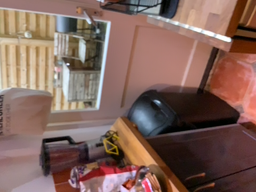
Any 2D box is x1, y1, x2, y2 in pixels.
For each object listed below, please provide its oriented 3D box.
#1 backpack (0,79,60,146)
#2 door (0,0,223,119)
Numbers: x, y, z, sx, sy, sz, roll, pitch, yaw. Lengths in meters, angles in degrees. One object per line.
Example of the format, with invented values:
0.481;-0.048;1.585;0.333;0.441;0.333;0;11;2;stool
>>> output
-0.740;0.090;1.130;0.190;0.680;0.310;49;133;50;backpack
-0.230;-0.190;1.310;0.030;2.020;0.670;47;131;51;door
